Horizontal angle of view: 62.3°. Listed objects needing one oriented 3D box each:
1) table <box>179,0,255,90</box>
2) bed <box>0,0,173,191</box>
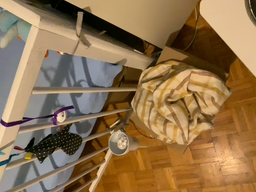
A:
[{"bbox_3d":[0.450,-0.250,0.680,0.330,0.470,0.330,-45,73,21],"label":"table"},{"bbox_3d":[-0.470,0.190,0.960,0.630,0.790,1.280,31,105,22],"label":"bed"}]
